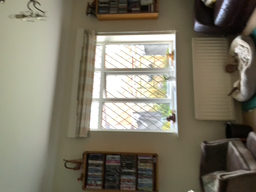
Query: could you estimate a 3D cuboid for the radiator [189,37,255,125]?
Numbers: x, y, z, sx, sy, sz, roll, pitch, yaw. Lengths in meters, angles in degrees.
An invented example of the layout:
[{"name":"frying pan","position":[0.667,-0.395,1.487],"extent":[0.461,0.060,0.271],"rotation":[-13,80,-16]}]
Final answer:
[{"name":"radiator","position":[1.280,-0.220,2.990],"extent":[0.190,0.740,1.230],"rotation":[70,-159,-75]}]
